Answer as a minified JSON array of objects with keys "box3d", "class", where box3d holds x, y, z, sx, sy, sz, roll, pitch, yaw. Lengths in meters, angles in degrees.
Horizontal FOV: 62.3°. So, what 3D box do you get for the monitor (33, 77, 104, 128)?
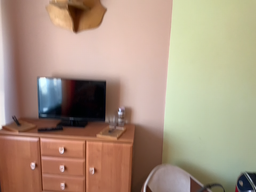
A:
[{"box3d":[-0.480,0.050,1.730,0.560,0.380,0.050,3,12,4],"class":"monitor"}]
